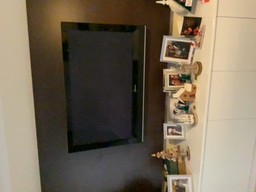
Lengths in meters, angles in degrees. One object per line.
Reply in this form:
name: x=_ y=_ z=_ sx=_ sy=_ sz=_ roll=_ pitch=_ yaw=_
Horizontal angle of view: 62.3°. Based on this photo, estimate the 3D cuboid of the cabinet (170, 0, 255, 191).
cabinet: x=0.840 y=0.170 z=2.000 sx=0.500 sy=0.620 sz=2.490 roll=-132 pitch=42 yaw=-74
